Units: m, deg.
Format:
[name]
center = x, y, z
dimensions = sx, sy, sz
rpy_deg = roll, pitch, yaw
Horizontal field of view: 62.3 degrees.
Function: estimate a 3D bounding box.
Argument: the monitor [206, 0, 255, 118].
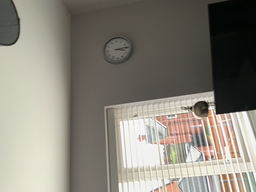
[monitor]
center = 0.790, -0.240, 1.390
dimensions = 0.070, 0.470, 0.750
rpy_deg = -75, -25, -71
